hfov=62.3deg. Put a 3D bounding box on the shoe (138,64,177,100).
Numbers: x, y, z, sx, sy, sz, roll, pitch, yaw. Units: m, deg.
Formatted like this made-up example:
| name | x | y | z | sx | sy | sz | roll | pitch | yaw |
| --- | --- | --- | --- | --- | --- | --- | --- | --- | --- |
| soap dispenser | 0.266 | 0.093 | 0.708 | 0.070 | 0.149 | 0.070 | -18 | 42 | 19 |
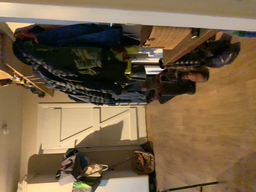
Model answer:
| name | x | y | z | sx | sy | sz | roll | pitch | yaw |
| --- | --- | --- | --- | --- | --- | --- | --- | --- | --- |
| shoe | 0.380 | -0.170 | 2.930 | 0.570 | 0.370 | 0.420 | 156 | 114 | -79 |
